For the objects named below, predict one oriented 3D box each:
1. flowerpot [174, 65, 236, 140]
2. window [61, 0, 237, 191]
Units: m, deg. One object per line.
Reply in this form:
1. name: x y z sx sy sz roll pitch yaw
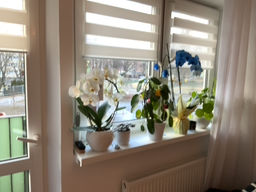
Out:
1. flowerpot: 0.690 0.030 1.920 0.410 0.600 0.310 -4 9 -36
2. window: 0.300 -0.150 1.620 1.580 1.360 0.140 -4 9 -36
